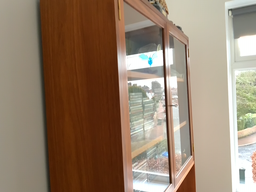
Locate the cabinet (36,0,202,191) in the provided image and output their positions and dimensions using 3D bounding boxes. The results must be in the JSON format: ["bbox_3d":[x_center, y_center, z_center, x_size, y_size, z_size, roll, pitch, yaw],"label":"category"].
[{"bbox_3d":[0.080,0.050,0.950,0.310,0.730,0.860,-2,1,29],"label":"cabinet"}]
